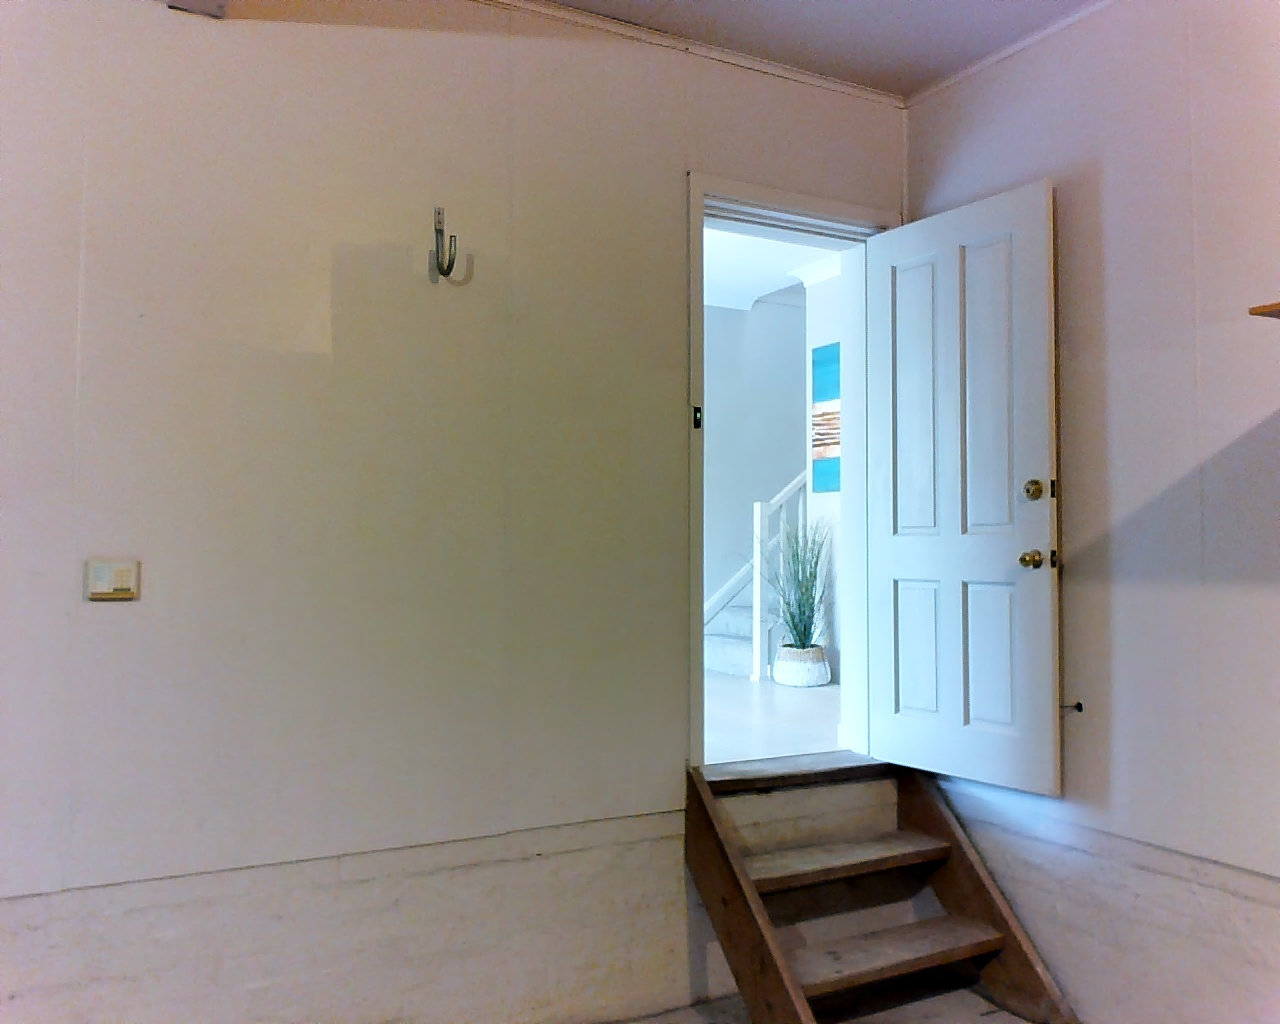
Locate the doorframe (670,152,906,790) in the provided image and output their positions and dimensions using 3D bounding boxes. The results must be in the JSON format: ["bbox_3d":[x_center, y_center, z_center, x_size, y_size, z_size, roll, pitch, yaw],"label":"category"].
[{"bbox_3d":[0.560,-0.140,3.940,0.970,2.181,0.130,1,-3,-29],"label":"doorframe"}]

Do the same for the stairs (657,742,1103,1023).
[{"bbox_3d":[0.770,1.300,3.550,1.130,0.830,0.900,1,-3,-29],"label":"stairs"}]
